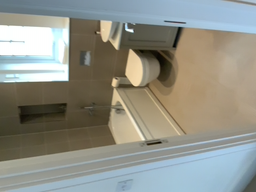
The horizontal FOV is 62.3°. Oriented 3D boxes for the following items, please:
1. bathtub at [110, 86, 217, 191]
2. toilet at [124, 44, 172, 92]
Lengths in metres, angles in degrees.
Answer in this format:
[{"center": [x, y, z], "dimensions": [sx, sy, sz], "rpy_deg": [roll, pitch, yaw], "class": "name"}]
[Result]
[{"center": [0.300, 0.580, 2.760], "dimensions": [1.490, 0.590, 0.710], "rpy_deg": [-122, 35, -48], "class": "bathtub"}, {"center": [0.230, -0.370, 2.700], "dimensions": [0.510, 0.340, 0.420], "rpy_deg": [-125, 38, -51], "class": "toilet"}]
